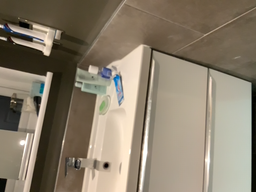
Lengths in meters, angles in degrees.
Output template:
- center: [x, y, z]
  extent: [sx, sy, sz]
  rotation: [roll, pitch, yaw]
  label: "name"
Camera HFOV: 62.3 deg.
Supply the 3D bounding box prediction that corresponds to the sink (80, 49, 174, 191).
- center: [-0.050, 0.360, 0.960]
  extent: [0.450, 0.190, 1.020]
  rotation: [-17, 63, 63]
  label: "sink"
